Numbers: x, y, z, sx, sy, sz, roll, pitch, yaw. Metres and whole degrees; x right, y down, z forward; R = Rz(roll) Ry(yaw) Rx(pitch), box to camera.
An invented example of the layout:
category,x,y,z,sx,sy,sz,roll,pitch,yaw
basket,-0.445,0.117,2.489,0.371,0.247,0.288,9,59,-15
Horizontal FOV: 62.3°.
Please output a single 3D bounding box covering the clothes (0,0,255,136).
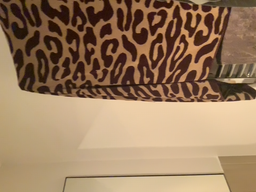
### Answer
category,x,y,z,sx,sy,sz,roll,pitch,yaw
clothes,0.490,-0.190,0.640,0.280,1.930,0.560,-92,2,-49
